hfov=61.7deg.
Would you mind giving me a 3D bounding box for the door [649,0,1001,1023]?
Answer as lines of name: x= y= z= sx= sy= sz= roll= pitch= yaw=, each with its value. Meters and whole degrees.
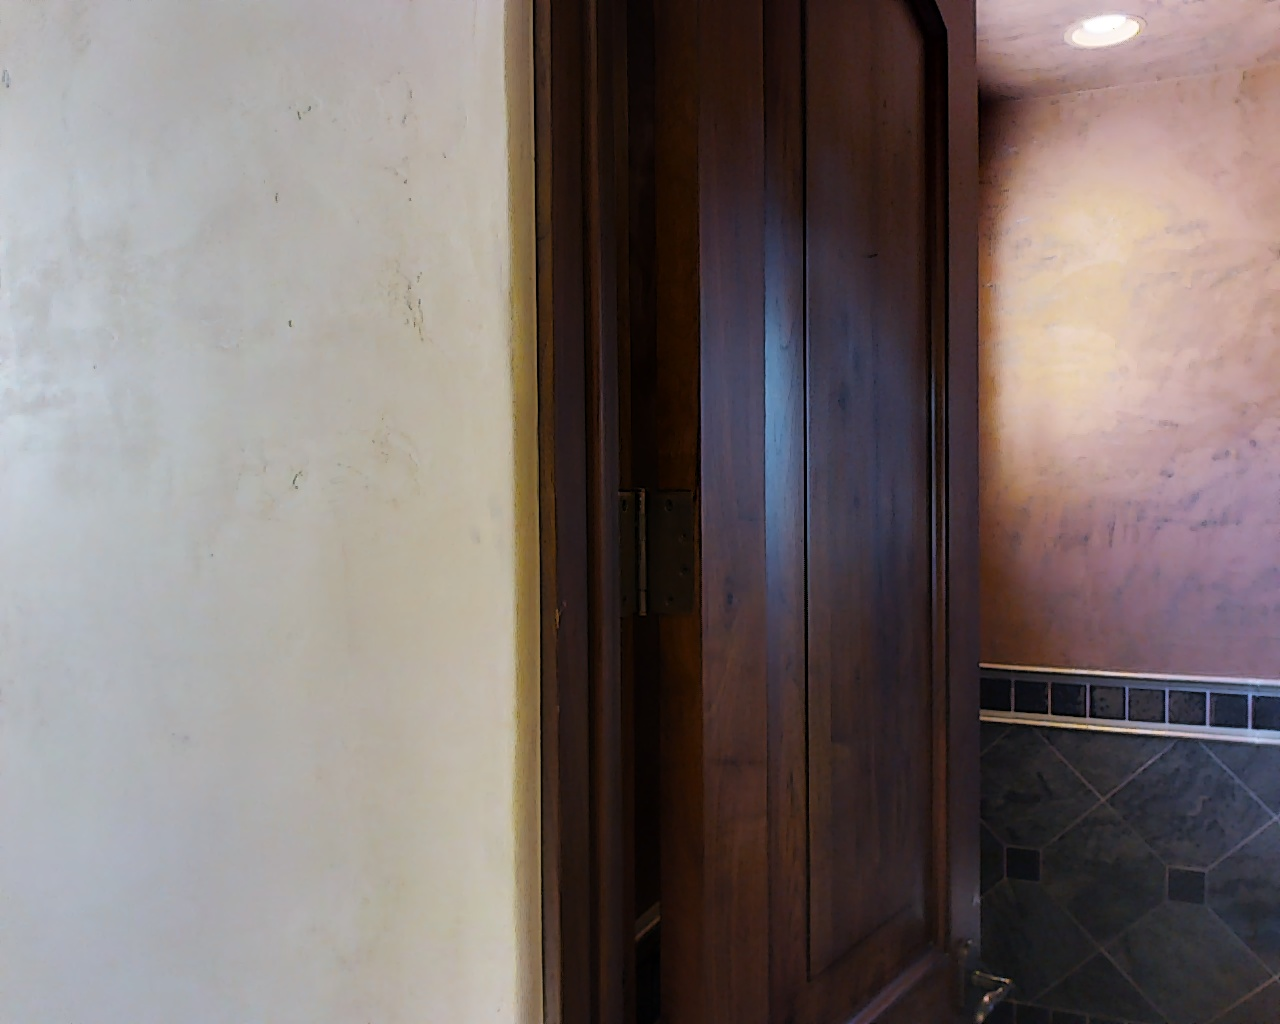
door: x=0.270 y=0.350 z=1.280 sx=0.070 sy=2.430 sz=0.760 roll=0 pitch=1 yaw=37
